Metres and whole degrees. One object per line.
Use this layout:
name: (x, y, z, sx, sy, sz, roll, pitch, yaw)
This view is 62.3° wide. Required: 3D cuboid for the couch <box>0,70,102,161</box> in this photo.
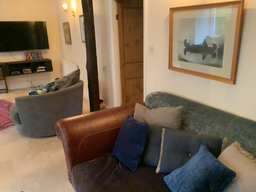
couch: (-1.140, 0.160, 3.080, 1.040, 0.810, 1.110, 8, 20, 26)
